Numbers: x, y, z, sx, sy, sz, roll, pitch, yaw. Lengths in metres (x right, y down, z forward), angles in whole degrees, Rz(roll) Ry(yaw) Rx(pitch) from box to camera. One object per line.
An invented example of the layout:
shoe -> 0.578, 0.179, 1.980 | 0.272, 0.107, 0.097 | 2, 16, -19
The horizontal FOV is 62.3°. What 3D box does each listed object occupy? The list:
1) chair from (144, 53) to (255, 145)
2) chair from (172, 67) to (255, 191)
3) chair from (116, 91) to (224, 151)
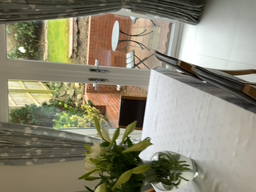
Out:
chair -> 0.620, 0.010, 1.490 | 0.380, 0.880, 0.490 | -133, 48, -65
chair -> 0.750, 0.160, 1.070 | 0.370, 0.890, 0.490 | -133, 48, -65
chair -> 0.390, 0.230, 2.160 | 0.510, 0.890, 0.370 | -129, 44, -63
